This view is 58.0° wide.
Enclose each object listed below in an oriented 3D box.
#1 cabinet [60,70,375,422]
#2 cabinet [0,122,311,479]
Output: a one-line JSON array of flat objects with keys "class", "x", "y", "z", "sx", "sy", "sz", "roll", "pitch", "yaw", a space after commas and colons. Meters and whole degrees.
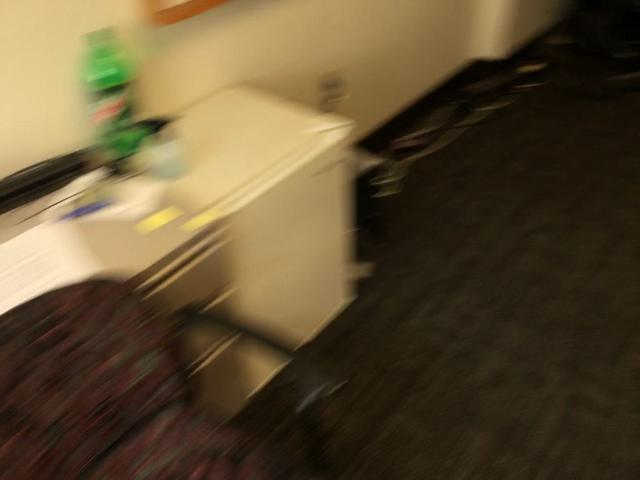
[{"class": "cabinet", "x": -0.230, "y": 0.000, "z": 1.640, "sx": 0.470, "sy": 0.690, "sz": 0.560, "roll": 26, "pitch": 52, "yaw": 36}, {"class": "cabinet", "x": -0.590, "y": 0.340, "z": 1.240, "sx": 0.610, "sy": 0.740, "sz": 0.870, "roll": 26, "pitch": 52, "yaw": 36}]
